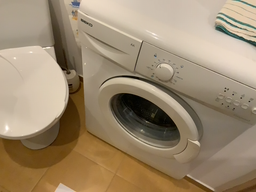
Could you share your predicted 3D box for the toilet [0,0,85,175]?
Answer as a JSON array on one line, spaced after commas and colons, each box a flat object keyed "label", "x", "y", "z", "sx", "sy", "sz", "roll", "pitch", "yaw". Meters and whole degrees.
[{"label": "toilet", "x": -0.490, "y": -0.110, "z": 0.990, "sx": 0.380, "sy": 0.730, "sz": 0.670, "roll": -14, "pitch": 60, "yaw": -17}]
